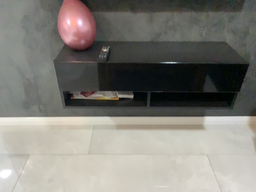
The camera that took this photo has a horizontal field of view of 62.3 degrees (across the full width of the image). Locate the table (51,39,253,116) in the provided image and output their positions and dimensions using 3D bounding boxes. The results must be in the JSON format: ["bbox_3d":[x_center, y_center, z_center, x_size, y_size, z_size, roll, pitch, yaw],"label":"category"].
[{"bbox_3d":[0.120,-0.120,1.300,1.020,0.350,0.330,0,34,-1],"label":"table"}]
